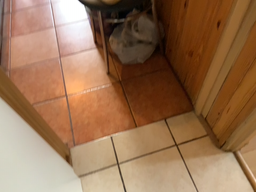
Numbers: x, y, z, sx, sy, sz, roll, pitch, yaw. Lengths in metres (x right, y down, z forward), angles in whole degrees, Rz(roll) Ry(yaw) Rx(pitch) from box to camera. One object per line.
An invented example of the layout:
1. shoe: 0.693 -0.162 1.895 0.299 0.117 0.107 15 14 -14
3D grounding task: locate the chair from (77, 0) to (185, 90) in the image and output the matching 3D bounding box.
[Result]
1. chair: -0.030 -0.510 1.110 0.450 0.800 0.480 -16 57 -7
